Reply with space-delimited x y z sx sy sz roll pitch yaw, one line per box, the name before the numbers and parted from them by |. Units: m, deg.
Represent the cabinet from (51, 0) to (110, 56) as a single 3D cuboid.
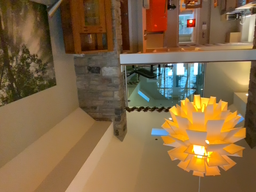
cabinet | -0.890 -1.770 3.860 0.840 1.960 0.530 -15 -160 -37
